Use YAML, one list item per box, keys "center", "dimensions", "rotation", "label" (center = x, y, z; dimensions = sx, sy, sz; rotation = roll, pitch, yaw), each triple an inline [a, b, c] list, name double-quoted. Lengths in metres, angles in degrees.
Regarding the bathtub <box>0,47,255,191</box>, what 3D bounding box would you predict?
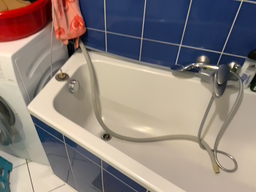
- center: [0.300, 0.350, 1.090]
  dimensions: [1.540, 0.620, 0.740]
  rotation: [14, 45, 10]
  label: "bathtub"
